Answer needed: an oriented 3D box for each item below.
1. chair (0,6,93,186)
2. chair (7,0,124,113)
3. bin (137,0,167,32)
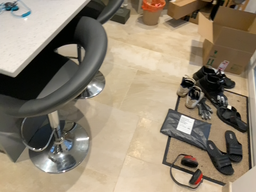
[{"bbox_3d":[-0.410,0.070,1.090,0.430,0.850,0.460,-2,51,-10],"label":"chair"},{"bbox_3d":[-0.360,-0.390,1.460,0.500,0.880,0.460,17,50,6],"label":"chair"},{"bbox_3d":[0.280,-0.960,2.440,0.270,0.250,0.310,12,50,1],"label":"bin"}]
